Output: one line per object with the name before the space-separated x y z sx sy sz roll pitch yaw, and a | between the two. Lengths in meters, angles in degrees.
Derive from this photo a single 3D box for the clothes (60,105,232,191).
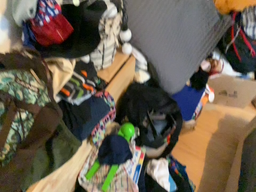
clothes | 0.080 0.520 1.140 0.620 0.480 0.570 26 57 15
